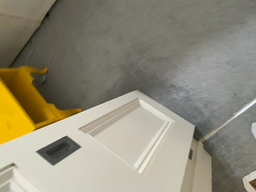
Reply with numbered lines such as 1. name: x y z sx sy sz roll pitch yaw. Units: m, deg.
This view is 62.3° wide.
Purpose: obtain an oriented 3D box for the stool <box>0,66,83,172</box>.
1. stool: -0.610 0.100 1.230 0.370 0.420 0.390 -44 83 21
